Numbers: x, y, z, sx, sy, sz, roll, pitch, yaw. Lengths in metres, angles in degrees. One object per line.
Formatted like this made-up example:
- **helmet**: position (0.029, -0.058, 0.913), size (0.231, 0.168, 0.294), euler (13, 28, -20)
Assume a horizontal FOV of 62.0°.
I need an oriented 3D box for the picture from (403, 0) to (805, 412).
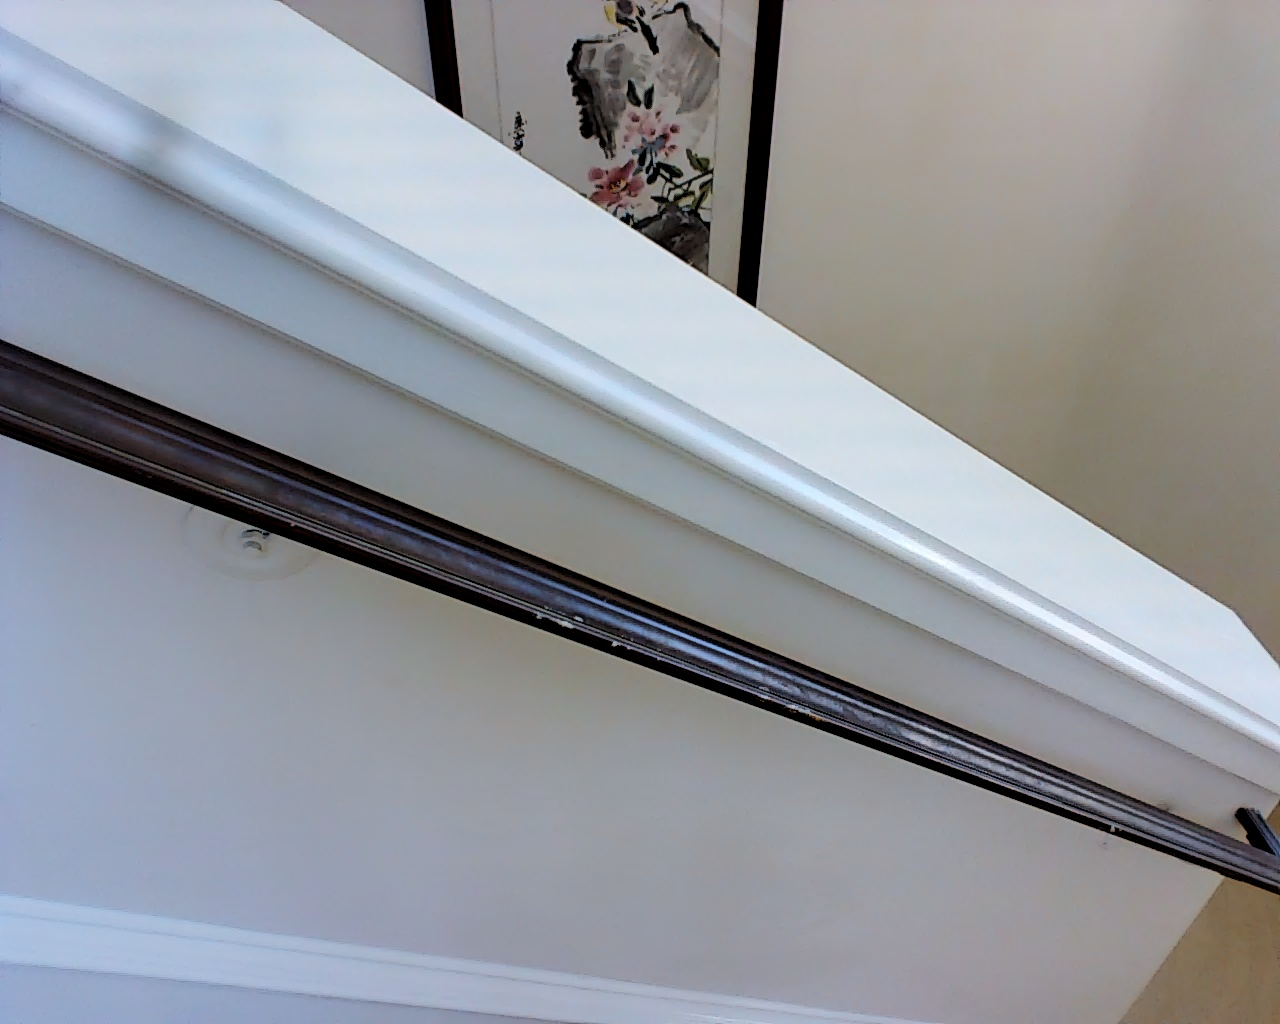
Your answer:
- **picture**: position (-0.050, -0.580, 1.660), size (0.580, 0.940, 0.040), euler (-8, 43, -11)
